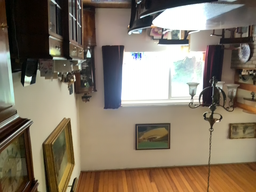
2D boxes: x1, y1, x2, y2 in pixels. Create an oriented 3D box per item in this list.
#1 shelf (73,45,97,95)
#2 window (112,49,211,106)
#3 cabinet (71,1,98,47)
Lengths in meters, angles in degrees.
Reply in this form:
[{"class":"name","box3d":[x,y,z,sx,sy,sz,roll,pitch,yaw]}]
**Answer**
[{"class":"shelf","box3d":[-0.920,-0.570,4.670,0.430,1.040,0.430,0,-170,-3]},{"class":"window","box3d":[0.790,-0.450,5.140,2.350,1.330,0.260,-1,-170,-6]},{"class":"cabinet","box3d":[-0.910,-1.500,4.500,0.470,0.850,0.460,0,-170,-3]}]
